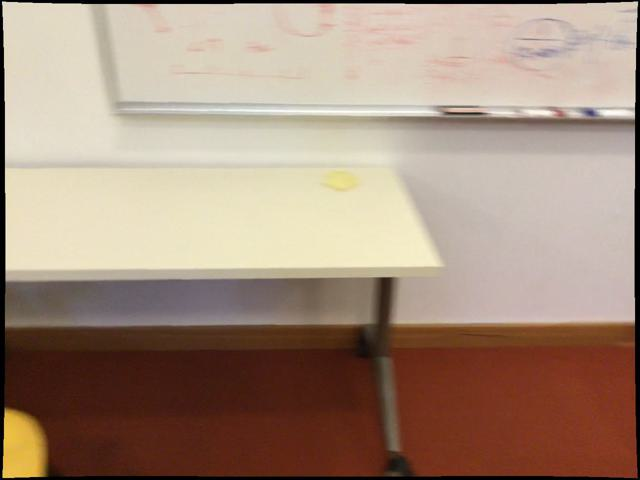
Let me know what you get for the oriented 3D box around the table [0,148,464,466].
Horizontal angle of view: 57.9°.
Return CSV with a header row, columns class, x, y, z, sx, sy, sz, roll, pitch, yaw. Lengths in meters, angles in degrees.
class,x,y,z,sx,sy,sz,roll,pitch,yaw
table,-0.490,0.170,1.700,1.568,0.660,0.630,1,30,-5
